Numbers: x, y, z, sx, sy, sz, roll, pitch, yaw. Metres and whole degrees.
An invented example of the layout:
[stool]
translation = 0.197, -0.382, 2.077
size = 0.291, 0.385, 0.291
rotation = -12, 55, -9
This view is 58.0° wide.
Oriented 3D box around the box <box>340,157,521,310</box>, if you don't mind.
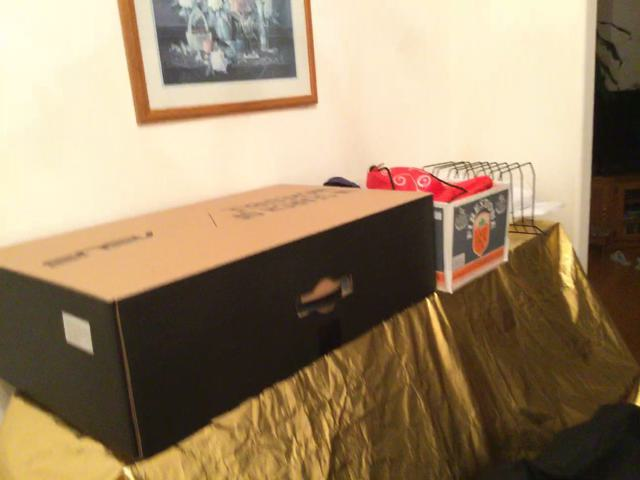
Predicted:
[box]
translation = 0.280, -0.040, 1.430
size = 0.310, 0.290, 0.310
rotation = 7, 18, 42
